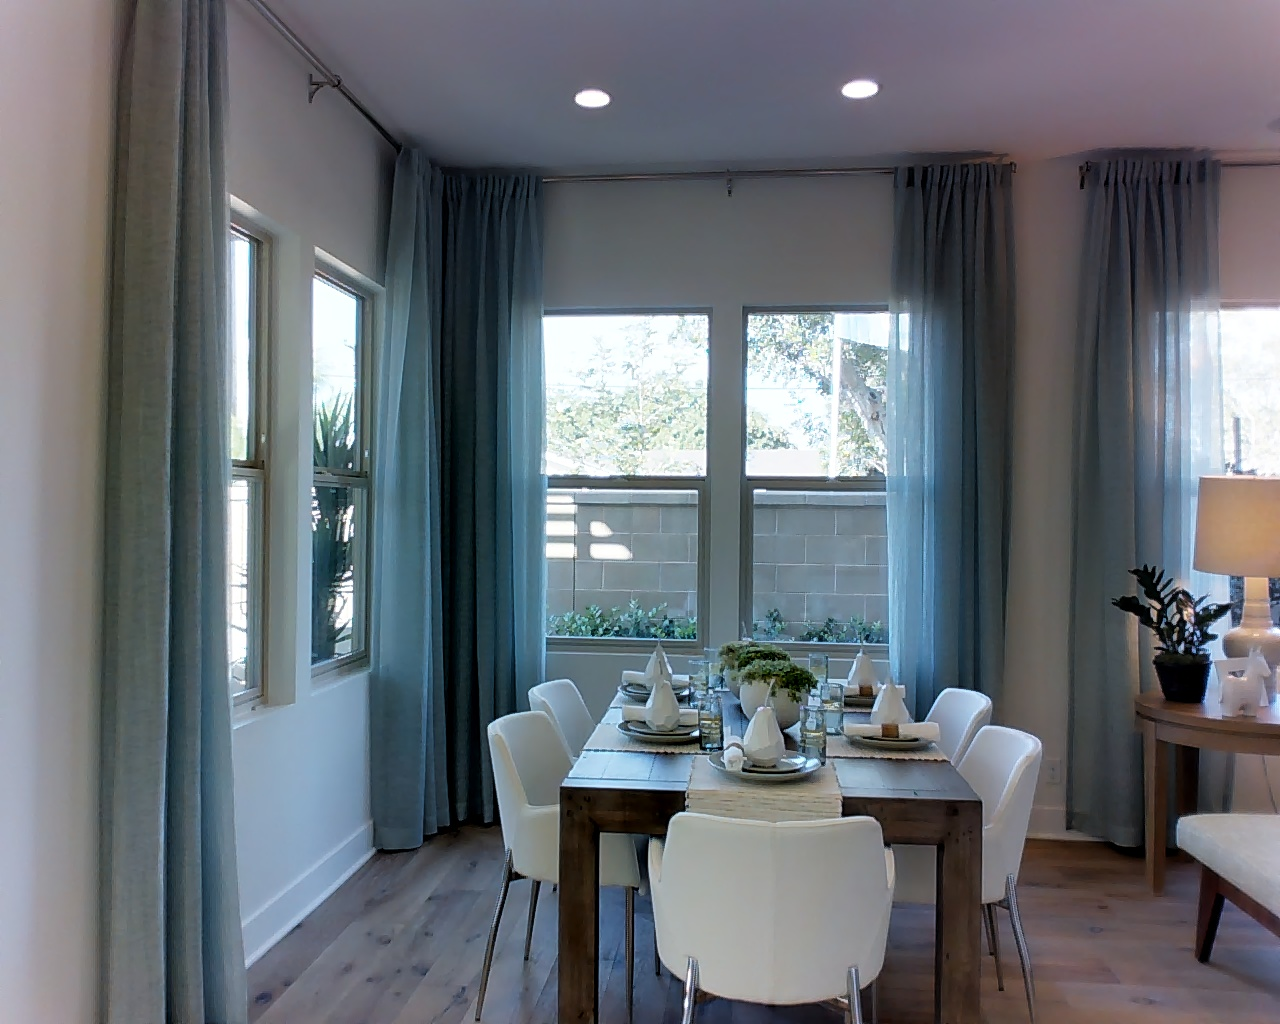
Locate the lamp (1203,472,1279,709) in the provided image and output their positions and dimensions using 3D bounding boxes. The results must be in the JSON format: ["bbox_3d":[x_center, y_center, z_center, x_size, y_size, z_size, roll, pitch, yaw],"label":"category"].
[{"bbox_3d":[2.509,0.300,4.310,0.410,0.910,0.390,1,1,29],"label":"lamp"}]

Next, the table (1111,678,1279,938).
[{"bbox_3d":[2.399,1.110,4.160,0.760,0.760,0.770,1,1,-39],"label":"table"}]
